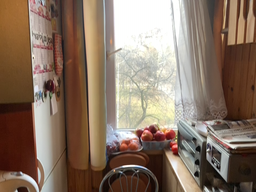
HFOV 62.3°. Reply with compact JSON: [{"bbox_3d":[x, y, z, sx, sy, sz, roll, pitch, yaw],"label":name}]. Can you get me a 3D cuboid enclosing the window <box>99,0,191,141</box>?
[{"bbox_3d":[0.120,-0.330,1.670,0.660,1.360,0.160,0,9,1],"label":"window"}]
